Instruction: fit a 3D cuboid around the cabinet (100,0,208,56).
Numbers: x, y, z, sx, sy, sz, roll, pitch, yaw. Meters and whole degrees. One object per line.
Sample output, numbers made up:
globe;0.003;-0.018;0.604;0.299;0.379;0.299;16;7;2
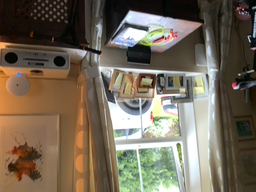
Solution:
cabinet;0.160;-0.800;1.870;0.650;0.630;0.730;1;170;-21
